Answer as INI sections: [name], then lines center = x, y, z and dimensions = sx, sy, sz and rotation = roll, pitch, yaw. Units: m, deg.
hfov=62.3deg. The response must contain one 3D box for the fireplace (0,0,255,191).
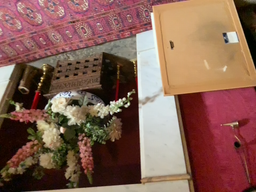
[fireplace]
center = -0.260, 0.230, 1.350
dimensions = 1.540, 1.160, 0.710
rotation = -9, 142, 14
